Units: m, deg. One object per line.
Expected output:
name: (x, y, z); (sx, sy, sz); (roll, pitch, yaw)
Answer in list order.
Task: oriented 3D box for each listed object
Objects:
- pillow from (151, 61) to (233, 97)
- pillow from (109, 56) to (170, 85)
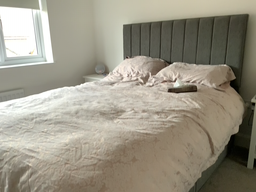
pillow: (0.630, -0.200, 2.150); (0.670, 0.240, 0.420); (11, 19, 39)
pillow: (0.130, -0.330, 2.570); (0.640, 0.270, 0.370); (11, 19, 38)
